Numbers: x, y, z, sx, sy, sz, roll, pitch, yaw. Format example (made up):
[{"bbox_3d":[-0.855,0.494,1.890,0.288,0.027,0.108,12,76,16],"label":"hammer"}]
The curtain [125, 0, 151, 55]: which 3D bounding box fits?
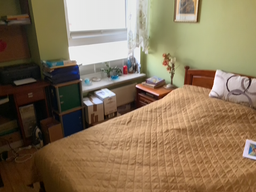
[{"bbox_3d":[0.150,-1.340,2.980,0.390,1.450,0.130,-20,30,-39],"label":"curtain"}]
